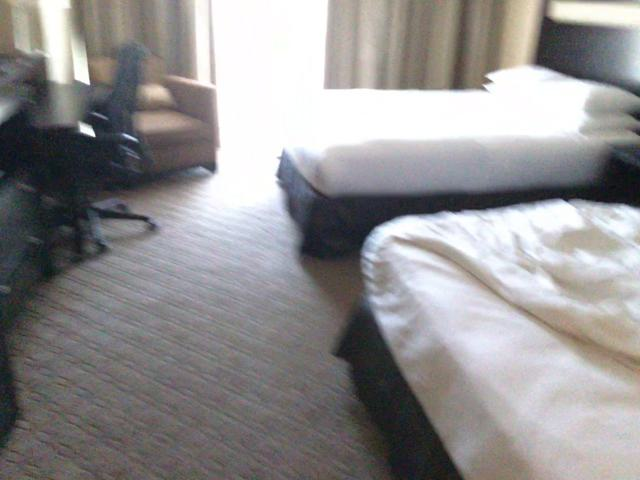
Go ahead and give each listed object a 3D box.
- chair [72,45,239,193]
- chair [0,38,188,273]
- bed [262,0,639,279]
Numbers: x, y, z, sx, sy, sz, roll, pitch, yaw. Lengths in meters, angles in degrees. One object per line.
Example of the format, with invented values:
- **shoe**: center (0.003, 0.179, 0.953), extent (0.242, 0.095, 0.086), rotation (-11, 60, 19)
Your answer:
- **chair**: center (-1.260, -0.990, 4.480), extent (0.850, 0.910, 0.920), rotation (-17, 29, -38)
- **chair**: center (-1.280, -0.530, 3.250), extent (0.750, 1.100, 0.720), rotation (-14, 27, -33)
- **bed**: center (0.820, -0.960, 3.670), extent (2.180, 1.650, 1.790), rotation (-3, 23, -10)
